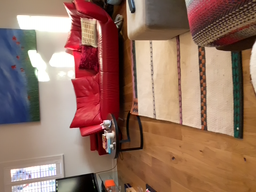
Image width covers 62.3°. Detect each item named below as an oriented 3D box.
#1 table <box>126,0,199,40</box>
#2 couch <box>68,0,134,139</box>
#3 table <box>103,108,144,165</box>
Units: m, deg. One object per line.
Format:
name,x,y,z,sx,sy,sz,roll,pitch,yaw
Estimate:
table,0.260,-0.720,1.720,0.420,0.430,0.440,-171,78,-71
couch,-0.560,-0.520,3.730,1.270,0.740,2.290,165,100,-71
table,-0.080,0.540,3.050,0.630,0.390,0.640,-174,81,-72
